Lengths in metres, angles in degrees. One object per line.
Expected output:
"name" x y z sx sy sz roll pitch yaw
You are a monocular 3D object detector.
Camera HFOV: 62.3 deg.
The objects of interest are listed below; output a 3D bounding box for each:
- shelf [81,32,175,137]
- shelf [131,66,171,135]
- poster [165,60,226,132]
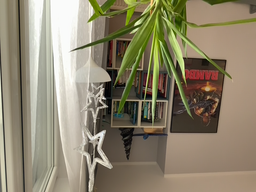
"shelf" -0.030 -0.120 2.640 1.050 1.190 0.350 2 -170 -10
"shelf" 0.280 0.050 2.720 0.390 0.840 0.240 2 -170 -8
"poster" 0.850 0.010 2.700 0.680 0.880 0.130 1 -170 -12
